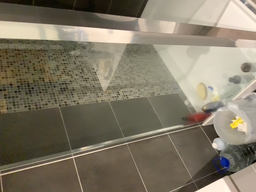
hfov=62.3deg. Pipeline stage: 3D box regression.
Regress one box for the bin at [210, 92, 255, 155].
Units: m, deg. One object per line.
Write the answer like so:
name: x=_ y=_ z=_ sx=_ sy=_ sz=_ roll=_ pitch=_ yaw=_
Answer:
bin: x=0.730 y=0.160 z=1.300 sx=0.270 sy=0.230 sz=0.240 roll=64 pitch=143 yaw=28
